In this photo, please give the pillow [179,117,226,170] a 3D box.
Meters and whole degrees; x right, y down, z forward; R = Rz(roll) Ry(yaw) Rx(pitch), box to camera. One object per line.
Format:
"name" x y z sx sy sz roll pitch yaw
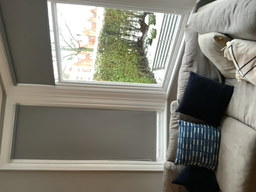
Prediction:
"pillow" 0.750 0.470 2.140 0.200 0.400 0.390 -143 44 -69
